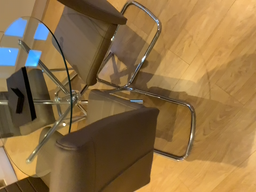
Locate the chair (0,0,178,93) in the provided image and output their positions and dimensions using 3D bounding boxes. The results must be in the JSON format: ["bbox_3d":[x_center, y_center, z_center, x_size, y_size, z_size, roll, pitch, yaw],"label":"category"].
[{"bbox_3d":[-0.280,-0.410,1.200,0.470,0.990,0.570,50,122,25],"label":"chair"}]

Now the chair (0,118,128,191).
[{"bbox_3d":[-0.540,0.570,1.500,0.420,1.000,0.560,27,110,35],"label":"chair"}]

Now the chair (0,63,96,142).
[{"bbox_3d":[-0.870,0.070,1.730,0.540,1.000,0.470,-24,78,38],"label":"chair"}]

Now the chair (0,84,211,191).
[{"bbox_3d":[-0.070,0.230,1.090,0.570,0.990,0.450,17,104,37],"label":"chair"}]
